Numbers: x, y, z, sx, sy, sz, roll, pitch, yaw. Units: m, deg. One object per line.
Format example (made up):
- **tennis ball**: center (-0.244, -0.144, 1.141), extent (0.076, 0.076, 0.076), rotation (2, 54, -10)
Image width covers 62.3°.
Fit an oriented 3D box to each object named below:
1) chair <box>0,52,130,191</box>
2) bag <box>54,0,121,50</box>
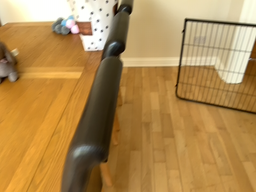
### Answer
- **chair**: center (-0.310, 0.390, 0.860), extent (0.600, 1.020, 0.440), rotation (1, 37, 3)
- **bag**: center (-0.230, -0.530, 1.360), extent (0.300, 0.330, 0.380), rotation (3, 37, 6)
